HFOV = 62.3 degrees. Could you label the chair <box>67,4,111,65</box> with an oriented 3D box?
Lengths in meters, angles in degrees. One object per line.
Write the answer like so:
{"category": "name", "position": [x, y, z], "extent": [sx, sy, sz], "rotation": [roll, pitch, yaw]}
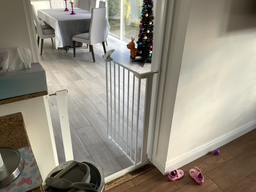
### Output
{"category": "chair", "position": [-0.780, -1.300, 4.430], "extent": [0.620, 1.070, 0.560], "rotation": [19, 33, 29]}
